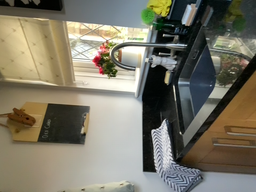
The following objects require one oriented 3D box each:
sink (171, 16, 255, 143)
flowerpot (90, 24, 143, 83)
[{"bbox_3d":[0.380,-0.060,1.010,0.430,0.210,0.410,99,174,-54],"label":"sink"},{"bbox_3d":[-0.080,-0.290,1.500,0.320,0.330,0.220,99,174,-57],"label":"flowerpot"}]
